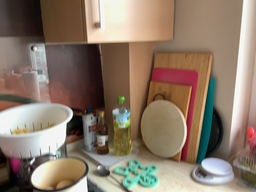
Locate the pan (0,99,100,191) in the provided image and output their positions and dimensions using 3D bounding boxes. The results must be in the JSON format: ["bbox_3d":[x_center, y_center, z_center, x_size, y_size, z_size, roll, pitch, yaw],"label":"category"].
[{"bbox_3d":[-0.300,0.200,0.750,0.260,0.290,0.290,-14,19,-41],"label":"pan"}]

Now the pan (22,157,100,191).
[{"bbox_3d":[-0.180,0.300,0.600,0.170,0.170,0.110,-14,19,-42],"label":"pan"}]
